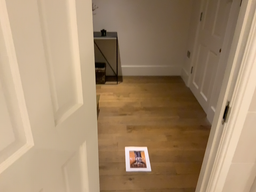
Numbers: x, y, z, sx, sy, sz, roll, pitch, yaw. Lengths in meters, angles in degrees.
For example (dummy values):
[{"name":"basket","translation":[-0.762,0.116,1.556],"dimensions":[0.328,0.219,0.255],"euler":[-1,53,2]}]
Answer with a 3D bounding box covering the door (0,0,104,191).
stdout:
[{"name":"door","translation":[-0.240,0.070,0.600],"dimensions":[0.070,2.000,0.690],"euler":[10,28,14]}]
